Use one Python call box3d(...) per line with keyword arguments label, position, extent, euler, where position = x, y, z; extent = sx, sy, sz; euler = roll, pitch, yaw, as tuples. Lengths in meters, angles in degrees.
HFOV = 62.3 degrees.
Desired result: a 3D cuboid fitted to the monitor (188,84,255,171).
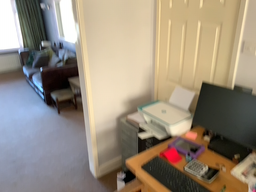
box3d(label="monitor", position=(0.670, 0.190, 1.400), extent=(0.030, 0.420, 0.540), euler=(-8, 22, -40))
